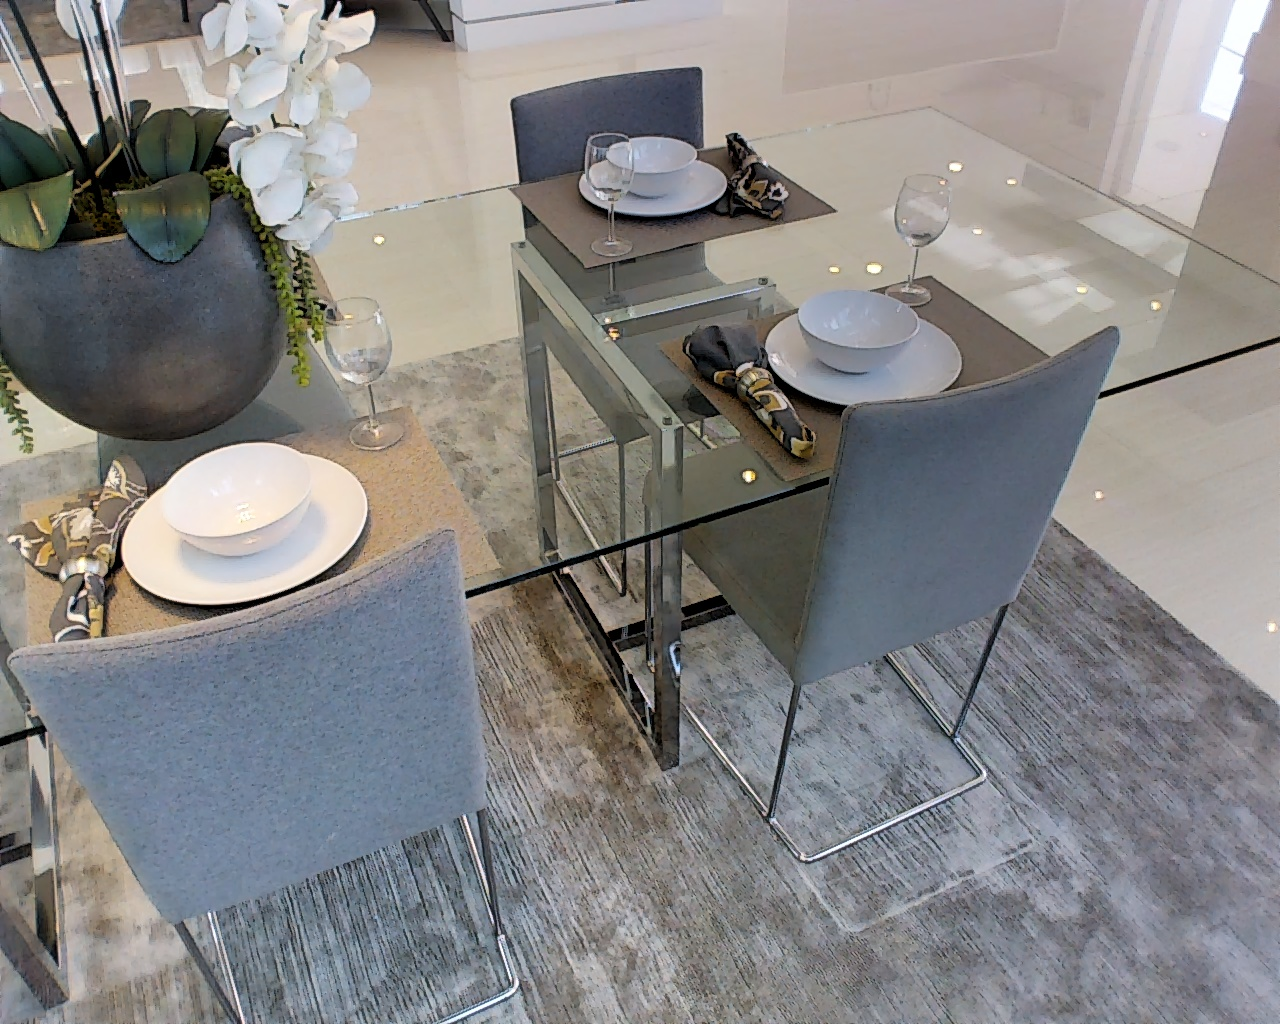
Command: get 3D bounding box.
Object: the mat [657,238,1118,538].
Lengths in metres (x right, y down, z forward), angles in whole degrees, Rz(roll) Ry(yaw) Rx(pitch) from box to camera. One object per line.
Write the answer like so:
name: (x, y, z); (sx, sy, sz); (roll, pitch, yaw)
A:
mat: (0.330, -0.200, 1.530); (0.490, 0.140, 0.390); (-17, 42, -19)

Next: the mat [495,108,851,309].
mat: (0.050, -0.570, 1.960); (0.510, 0.130, 0.400); (-17, 42, -19)

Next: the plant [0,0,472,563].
plant: (-0.570, -0.420, 1.210); (0.600, 0.810, 0.310); (-17, 42, -19)

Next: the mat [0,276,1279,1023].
mat: (-0.590, 0.420, 1.960); (3.279, 0.080, 2.300); (-17, 42, -19)

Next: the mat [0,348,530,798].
mat: (-0.450, 0.030, 1.250); (0.510, 0.140, 0.440); (-17, 42, -19)
